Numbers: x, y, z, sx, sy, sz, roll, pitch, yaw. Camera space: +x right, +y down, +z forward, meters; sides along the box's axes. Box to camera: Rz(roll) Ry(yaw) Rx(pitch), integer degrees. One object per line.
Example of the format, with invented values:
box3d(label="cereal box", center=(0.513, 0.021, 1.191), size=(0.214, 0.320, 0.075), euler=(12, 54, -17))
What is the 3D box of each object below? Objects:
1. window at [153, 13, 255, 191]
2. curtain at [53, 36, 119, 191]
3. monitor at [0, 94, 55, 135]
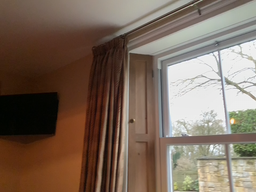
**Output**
box3d(label="window", center=(0.750, 0.350, 1.470), size=(0.170, 1.800, 1.310), euler=(16, -21, -42))
box3d(label="curtain", center=(-0.370, 0.600, 1.790), size=(0.490, 2.180, 0.250), euler=(-13, -21, 42))
box3d(label="monitor", center=(-1.410, 0.230, 2.700), size=(0.930, 0.500, 0.070), euler=(0, -14, 10))
